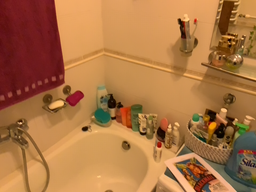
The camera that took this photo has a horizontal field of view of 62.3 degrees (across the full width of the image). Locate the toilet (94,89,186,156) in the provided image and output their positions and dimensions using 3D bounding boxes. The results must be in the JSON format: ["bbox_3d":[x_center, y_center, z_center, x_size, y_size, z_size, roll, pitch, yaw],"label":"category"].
[{"bbox_3d":[0.060,0.160,1.480,0.620,0.200,0.170,20,36,28],"label":"toilet"}]

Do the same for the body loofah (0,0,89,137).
[{"bbox_3d":[-0.500,-0.250,0.840,0.130,0.800,0.730,23,37,31],"label":"body loofah"}]
